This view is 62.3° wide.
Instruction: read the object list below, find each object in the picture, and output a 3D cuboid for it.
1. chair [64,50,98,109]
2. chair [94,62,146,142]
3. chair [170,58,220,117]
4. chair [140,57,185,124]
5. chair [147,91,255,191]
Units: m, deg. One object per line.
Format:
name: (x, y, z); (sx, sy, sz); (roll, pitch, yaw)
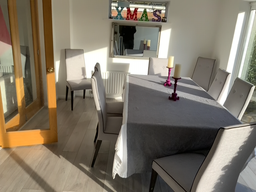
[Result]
chair: (-0.920, -0.350, 4.090); (0.460, 0.990, 0.620); (-6, 21, -29)
chair: (-0.140, 0.080, 2.970); (0.620, 1.020, 0.430); (2, 19, -6)
chair: (1.300, -0.200, 4.160); (0.630, 0.990, 0.510); (-12, 24, -40)
chair: (0.560, -0.110, 3.700); (0.500, 1.010, 0.620); (2, 19, -8)
chair: (0.560, 0.560, 1.690); (0.490, 1.040, 0.610); (-4, 20, -25)
